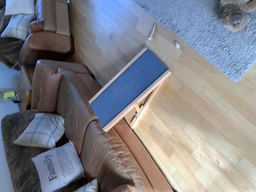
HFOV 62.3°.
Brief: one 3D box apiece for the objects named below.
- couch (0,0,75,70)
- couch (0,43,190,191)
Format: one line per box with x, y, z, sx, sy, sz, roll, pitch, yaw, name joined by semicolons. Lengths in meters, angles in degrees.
-1.470;-1.310;3.070;1.070;0.870;1.580;-14;80;50;couch
-0.560;0.560;1.990;2.090;0.880;1.100;51;127;37;couch
